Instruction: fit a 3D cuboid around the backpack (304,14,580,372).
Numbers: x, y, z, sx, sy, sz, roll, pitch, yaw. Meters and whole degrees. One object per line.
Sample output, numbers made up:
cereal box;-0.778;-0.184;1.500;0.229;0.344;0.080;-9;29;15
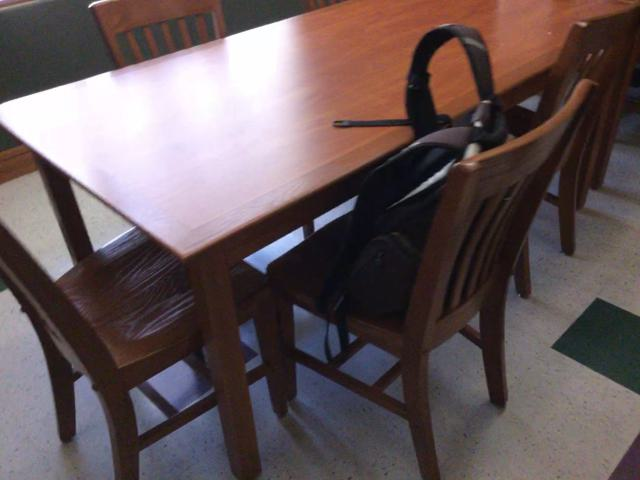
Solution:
backpack;0.230;-0.110;1.130;0.330;0.520;0.380;20;41;30
